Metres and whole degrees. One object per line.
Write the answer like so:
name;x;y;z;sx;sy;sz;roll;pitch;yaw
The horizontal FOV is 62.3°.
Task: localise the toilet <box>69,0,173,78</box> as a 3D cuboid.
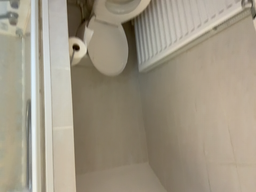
toilet;-0.110;-0.640;1.610;0.470;0.820;0.630;2;165;-33
